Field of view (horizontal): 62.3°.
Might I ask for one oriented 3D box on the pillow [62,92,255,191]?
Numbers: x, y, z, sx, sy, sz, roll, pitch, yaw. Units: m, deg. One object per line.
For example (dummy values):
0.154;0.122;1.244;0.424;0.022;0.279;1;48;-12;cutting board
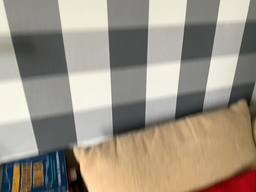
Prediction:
0.160;0.230;0.740;0.680;0.250;0.400;-10;27;-19;pillow
